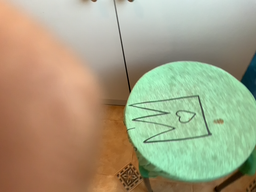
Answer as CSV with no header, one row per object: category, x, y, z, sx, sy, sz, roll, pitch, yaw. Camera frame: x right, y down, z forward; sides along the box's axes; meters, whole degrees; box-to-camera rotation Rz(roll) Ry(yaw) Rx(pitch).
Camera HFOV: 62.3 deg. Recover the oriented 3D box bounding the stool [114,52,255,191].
stool,0.180,0.140,0.700,0.330,0.460,0.320,4,59,10
